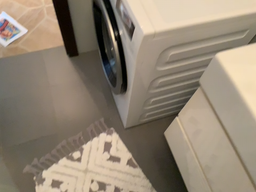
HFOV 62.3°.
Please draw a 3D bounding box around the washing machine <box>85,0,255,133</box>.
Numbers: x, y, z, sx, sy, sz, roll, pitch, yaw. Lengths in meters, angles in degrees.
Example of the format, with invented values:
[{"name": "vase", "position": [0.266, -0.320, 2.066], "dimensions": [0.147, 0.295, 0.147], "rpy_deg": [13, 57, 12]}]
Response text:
[{"name": "washing machine", "position": [0.140, -0.310, 1.130], "dimensions": [0.590, 0.840, 0.640], "rpy_deg": [-15, 65, -13]}]
